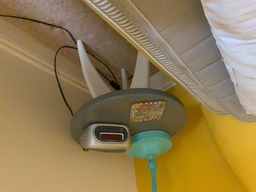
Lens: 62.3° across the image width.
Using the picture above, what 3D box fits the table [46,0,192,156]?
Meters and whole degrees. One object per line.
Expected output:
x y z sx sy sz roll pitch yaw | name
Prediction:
-0.050 -0.070 0.860 0.360 0.460 0.350 -32 138 29 | table
